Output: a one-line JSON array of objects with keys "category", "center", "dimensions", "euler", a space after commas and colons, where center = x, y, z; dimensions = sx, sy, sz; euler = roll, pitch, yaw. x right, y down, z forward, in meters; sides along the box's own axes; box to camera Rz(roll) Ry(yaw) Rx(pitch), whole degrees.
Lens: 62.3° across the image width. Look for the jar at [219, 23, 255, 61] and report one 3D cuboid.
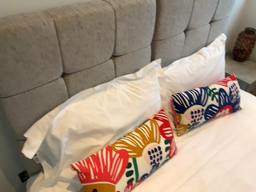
[{"category": "jar", "center": [1.010, -0.500, 1.960], "dimensions": [0.200, 0.270, 0.160], "euler": [-27, 46, -31]}]
